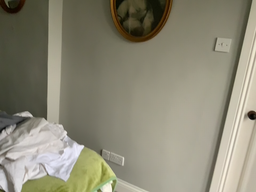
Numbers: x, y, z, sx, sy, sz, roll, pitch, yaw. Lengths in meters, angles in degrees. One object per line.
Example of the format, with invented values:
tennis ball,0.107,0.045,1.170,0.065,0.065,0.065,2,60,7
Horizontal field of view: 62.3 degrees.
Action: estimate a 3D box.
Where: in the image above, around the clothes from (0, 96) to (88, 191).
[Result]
clothes,-0.670,0.200,1.190,0.690,0.180,0.520,13,16,25
